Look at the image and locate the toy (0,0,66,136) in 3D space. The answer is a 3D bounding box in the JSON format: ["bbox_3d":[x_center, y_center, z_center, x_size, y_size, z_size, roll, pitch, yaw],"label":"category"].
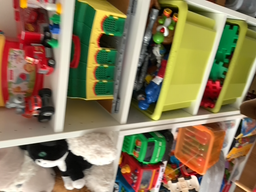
[{"bbox_3d":[-0.300,-0.120,0.510,0.210,0.210,0.370,35,119,49],"label":"toy"}]

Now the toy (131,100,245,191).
[{"bbox_3d":[0.260,0.430,1.130,0.270,0.310,0.770,38,122,48],"label":"toy"}]
